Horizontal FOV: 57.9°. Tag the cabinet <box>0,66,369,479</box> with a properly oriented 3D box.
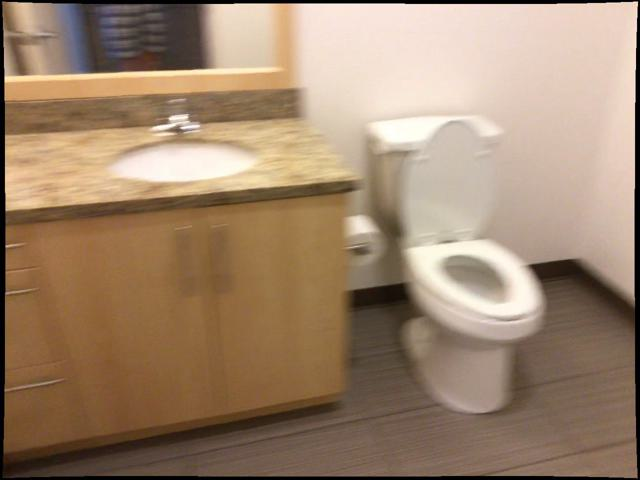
[{"bbox_3d":[-0.480,0.070,1.790,1.089,0.971,0.580,-9,33,-14],"label":"cabinet"}]
